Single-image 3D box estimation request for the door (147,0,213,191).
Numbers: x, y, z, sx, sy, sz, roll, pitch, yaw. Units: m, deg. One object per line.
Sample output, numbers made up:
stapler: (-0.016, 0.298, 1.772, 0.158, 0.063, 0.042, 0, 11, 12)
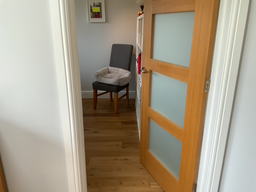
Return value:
door: (0.330, -0.240, 1.550, 0.050, 1.830, 0.610, -6, 20, -19)
